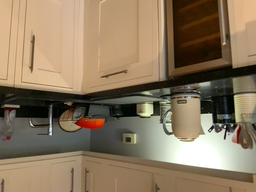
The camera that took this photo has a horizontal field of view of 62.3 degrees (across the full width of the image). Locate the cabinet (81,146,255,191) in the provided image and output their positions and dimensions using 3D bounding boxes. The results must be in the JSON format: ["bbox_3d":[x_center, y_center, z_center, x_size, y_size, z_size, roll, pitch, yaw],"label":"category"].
[{"bbox_3d":[0.200,0.850,1.480,1.340,0.850,0.340,-7,171,43],"label":"cabinet"}]
